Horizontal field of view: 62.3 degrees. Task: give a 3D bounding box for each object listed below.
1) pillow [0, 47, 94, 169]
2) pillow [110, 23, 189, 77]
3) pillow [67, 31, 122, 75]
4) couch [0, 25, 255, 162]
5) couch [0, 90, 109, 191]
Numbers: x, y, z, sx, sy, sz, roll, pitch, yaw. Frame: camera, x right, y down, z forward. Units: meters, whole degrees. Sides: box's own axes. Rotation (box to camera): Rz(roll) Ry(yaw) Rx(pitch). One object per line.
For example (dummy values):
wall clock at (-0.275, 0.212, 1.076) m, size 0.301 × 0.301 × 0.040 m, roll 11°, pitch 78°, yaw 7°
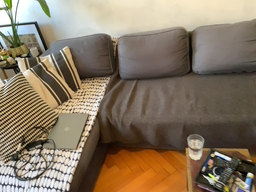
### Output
pillow at (-0.770, 0.000, 1.790) m, size 0.500 × 0.400 × 1.090 m, roll 2°, pitch 36°, yaw 17°
pillow at (0.220, -0.400, 1.960) m, size 0.640 × 0.430 × 0.260 m, roll 1°, pitch 67°, yaw 14°
pillow at (-0.310, -0.410, 2.090) m, size 0.390 × 0.360 × 0.230 m, roll 1°, pitch 61°, yaw 15°
couch at (0.230, -0.090, 2.050) m, size 2.390 × 0.670 × 1.110 m, roll 0°, pitch 35°, yaw 14°
couch at (-0.690, 0.410, 1.560) m, size 0.850 × 0.670 × 0.600 m, roll 0°, pitch 35°, yaw 14°
